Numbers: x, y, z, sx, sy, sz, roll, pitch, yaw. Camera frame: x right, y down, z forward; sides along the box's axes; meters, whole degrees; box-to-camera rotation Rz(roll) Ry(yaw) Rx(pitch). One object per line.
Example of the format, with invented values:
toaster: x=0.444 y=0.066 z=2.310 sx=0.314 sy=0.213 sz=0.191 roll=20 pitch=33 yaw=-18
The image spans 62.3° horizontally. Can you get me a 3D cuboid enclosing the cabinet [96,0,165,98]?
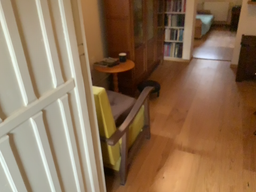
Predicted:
cabinet: x=0.140 y=-1.080 z=3.480 sx=0.480 sy=1.680 sz=1.500 roll=11 pitch=30 yaw=23

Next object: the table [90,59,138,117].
table: x=-0.170 y=-0.130 z=2.940 sx=0.460 sy=0.620 sz=0.440 roll=11 pitch=30 yaw=23

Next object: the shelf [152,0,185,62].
shelf: x=0.800 y=-1.670 z=4.180 sx=0.600 sy=1.970 sz=0.110 roll=11 pitch=30 yaw=24
